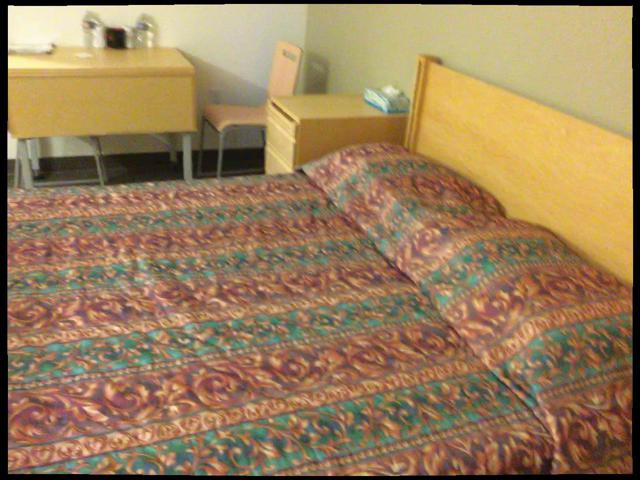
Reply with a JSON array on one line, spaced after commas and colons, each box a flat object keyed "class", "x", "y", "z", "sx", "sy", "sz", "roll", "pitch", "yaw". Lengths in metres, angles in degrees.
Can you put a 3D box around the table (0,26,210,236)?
[{"class": "table", "x": -1.317, "y": -0.681, "z": 3.260, "sx": 1.148, "sy": 0.851, "sz": 0.970, "roll": -8, "pitch": 30, "yaw": -22}]
